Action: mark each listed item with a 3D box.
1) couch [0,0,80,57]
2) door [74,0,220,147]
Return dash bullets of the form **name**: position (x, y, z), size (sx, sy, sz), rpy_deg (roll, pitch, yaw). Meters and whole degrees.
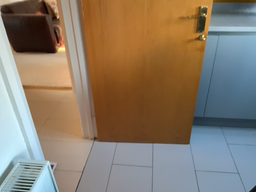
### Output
- **couch**: position (-1.600, -1.400, 3.980), size (0.850, 0.860, 1.360), rpy_deg (4, 31, 9)
- **door**: position (0.100, -0.490, 1.290), size (0.830, 2.010, 0.090), rpy_deg (2, 31, 6)
